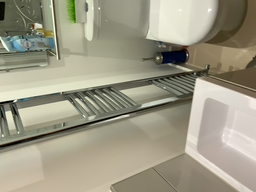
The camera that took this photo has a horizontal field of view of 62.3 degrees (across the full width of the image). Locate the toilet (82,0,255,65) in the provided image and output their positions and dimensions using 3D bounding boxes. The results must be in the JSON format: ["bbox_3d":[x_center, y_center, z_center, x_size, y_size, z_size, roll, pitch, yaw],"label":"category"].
[{"bbox_3d":[0.240,-0.480,1.210,0.630,0.810,0.390,32,127,51],"label":"toilet"}]
